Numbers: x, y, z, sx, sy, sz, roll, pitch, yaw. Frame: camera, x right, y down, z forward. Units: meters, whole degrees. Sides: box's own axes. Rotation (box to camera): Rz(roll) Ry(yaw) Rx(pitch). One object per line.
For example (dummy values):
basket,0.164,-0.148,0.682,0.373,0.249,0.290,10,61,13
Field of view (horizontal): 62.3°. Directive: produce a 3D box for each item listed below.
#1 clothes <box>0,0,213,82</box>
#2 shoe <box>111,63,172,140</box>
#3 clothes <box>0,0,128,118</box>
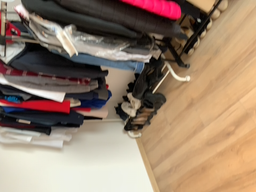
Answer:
clothes,-0.260,-0.550,1.220,0.520,1.190,0.700,-56,43,43
shoe,0.110,0.080,2.420,0.740,0.250,0.480,-61,40,39
clothes,-0.600,-0.270,1.550,0.550,0.910,0.640,-56,43,43
